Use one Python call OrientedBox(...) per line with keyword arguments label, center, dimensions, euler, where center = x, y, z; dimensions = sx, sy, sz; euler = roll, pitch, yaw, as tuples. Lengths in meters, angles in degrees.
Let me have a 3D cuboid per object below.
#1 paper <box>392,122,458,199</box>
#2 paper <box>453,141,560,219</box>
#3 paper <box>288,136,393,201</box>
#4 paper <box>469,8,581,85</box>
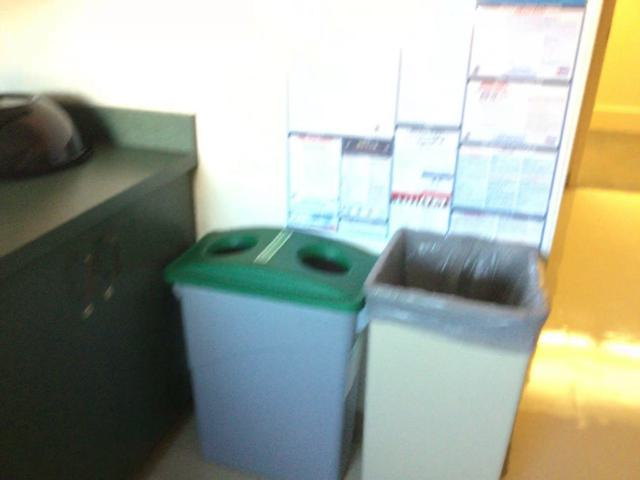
OrientedBox(label="paper", center=(0.250, -0.190, 1.390), dimensions=(0.150, 0.180, 0.020), euler=(5, 26, 15))
OrientedBox(label="paper", center=(0.430, -0.140, 1.350), dimensions=(0.220, 0.170, 0.030), euler=(5, 26, 15))
OrientedBox(label="paper", center=(0.050, -0.180, 1.450), dimensions=(0.260, 0.150, 0.020), euler=(5, 26, 15))
OrientedBox(label="paper", center=(0.430, -0.410, 1.230), dimensions=(0.210, 0.150, 0.020), euler=(5, 26, 15))
